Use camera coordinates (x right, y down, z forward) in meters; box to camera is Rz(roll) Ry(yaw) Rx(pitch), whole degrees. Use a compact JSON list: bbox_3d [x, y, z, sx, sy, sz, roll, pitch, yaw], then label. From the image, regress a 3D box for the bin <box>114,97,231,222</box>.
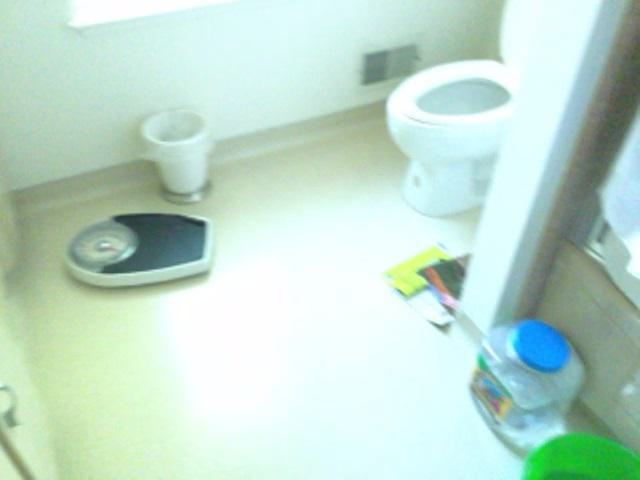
[{"bbox_3d":[-0.500,-0.280,1.970,0.290,0.260,0.270,-17,44,-18],"label":"bin"}]
